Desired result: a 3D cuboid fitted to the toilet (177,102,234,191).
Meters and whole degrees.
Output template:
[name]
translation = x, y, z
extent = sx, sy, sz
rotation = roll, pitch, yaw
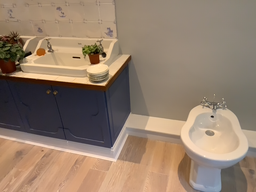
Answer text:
[toilet]
translation = 0.550, 0.390, 1.570
extent = 0.290, 0.390, 0.620
rotation = 6, 32, 16
